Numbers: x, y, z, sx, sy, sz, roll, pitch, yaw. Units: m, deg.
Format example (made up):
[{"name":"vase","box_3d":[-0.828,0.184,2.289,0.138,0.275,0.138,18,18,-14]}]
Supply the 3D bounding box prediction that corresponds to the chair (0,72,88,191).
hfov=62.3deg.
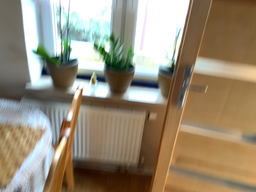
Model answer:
[{"name":"chair","box_3d":[-0.550,0.370,1.420,0.510,0.940,0.390,4,28,-4]}]

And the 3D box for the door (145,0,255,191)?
[{"name":"door","box_3d":[0.580,0.040,1.100,0.770,1.980,0.080,7,28,2]}]
